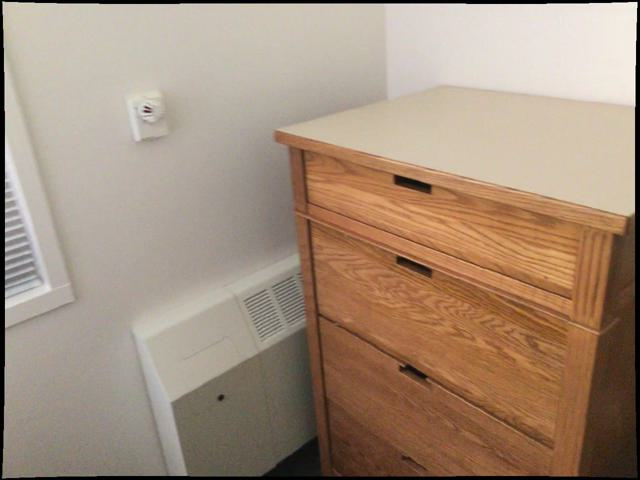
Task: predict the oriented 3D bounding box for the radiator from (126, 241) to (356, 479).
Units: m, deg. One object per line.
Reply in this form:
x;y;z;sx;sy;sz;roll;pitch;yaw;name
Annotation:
-0.180;0.411;1.640;0.549;0.641;0.160;-25;32;-32;radiator
